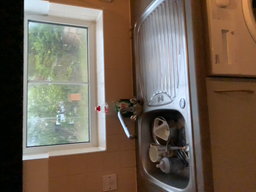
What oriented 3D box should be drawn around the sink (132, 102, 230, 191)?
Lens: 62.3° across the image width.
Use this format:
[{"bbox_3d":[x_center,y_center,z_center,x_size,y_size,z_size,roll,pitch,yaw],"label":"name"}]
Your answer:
[{"bbox_3d":[0.220,0.250,1.070,0.510,0.190,0.400,165,104,-66],"label":"sink"}]
